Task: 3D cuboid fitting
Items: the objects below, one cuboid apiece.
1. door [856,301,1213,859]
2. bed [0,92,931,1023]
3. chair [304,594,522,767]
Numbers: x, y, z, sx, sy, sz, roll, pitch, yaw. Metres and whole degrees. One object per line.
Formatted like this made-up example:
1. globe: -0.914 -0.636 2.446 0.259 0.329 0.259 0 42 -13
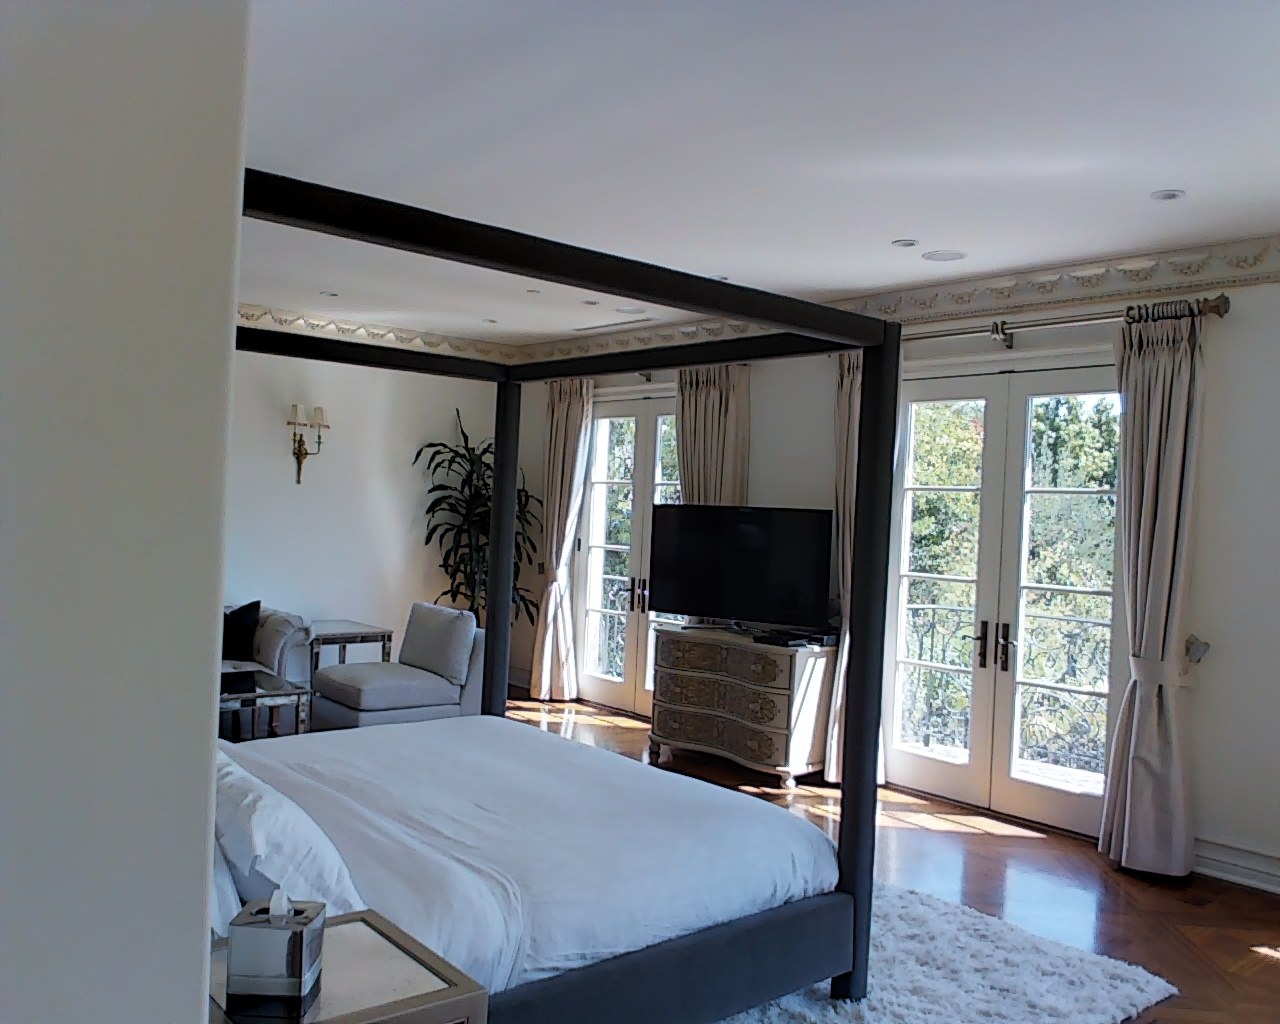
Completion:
1. door: 2.019 0.290 5.780 0.170 2.621 1.830 3 0 -41
2. bed: -0.790 0.390 3.530 2.440 2.241 2.290 3 0 -41
3. chair: -1.460 1.030 6.900 1.030 0.910 0.880 3 0 -42
